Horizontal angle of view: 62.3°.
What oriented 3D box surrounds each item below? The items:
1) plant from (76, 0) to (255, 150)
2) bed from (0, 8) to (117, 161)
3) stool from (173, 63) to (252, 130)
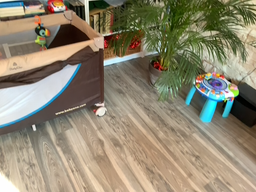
[{"bbox_3d":[0.290,-0.560,2.170,1.080,1.200,1.450,-20,46,-29],"label":"plant"},{"bbox_3d":[-0.920,-0.130,1.760,1.400,0.790,0.820,-19,46,-28],"label":"bed"},{"bbox_3d":[0.830,-0.020,2.160,0.480,0.360,0.470,-18,45,-26],"label":"stool"}]
